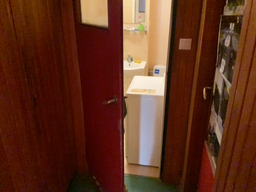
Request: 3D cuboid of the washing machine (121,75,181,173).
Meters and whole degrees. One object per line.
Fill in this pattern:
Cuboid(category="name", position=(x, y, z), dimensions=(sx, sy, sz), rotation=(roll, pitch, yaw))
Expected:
Cuboid(category="washing machine", position=(0.250, 0.280, 2.380), dimensions=(0.550, 0.850, 0.620), rotation=(4, 23, 8))
